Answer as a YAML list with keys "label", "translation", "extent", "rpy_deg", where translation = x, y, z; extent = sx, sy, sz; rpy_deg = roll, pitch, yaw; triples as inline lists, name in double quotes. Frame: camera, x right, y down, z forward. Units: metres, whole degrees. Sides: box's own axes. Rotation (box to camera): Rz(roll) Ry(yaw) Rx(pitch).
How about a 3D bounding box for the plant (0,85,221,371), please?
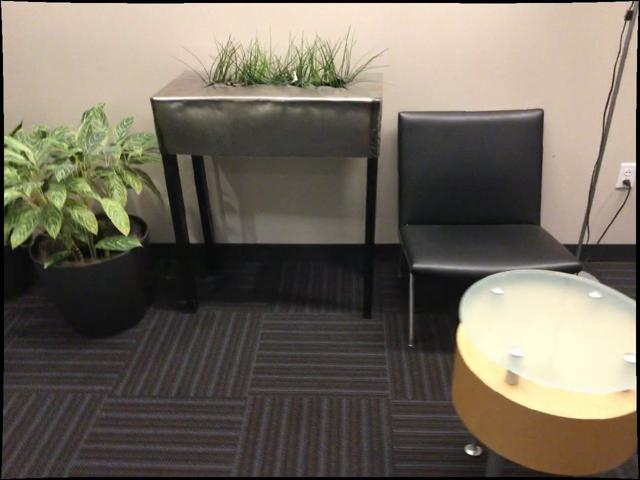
- label: "plant"
  translation: [-0.938, -0.090, 2.290]
  extent: [0.798, 0.801, 0.821]
  rpy_deg: [2, 32, 7]

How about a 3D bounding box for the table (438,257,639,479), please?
- label: "table"
  translation: [0.569, 0.411, 1.480]
  extent: [0.459, 0.551, 0.470]
  rpy_deg: [2, 32, 6]

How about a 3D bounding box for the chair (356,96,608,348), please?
- label: "chair"
  translation: [0.529, -0.100, 2.200]
  extent: [0.738, 0.691, 0.680]
  rpy_deg: [2, 32, 7]
